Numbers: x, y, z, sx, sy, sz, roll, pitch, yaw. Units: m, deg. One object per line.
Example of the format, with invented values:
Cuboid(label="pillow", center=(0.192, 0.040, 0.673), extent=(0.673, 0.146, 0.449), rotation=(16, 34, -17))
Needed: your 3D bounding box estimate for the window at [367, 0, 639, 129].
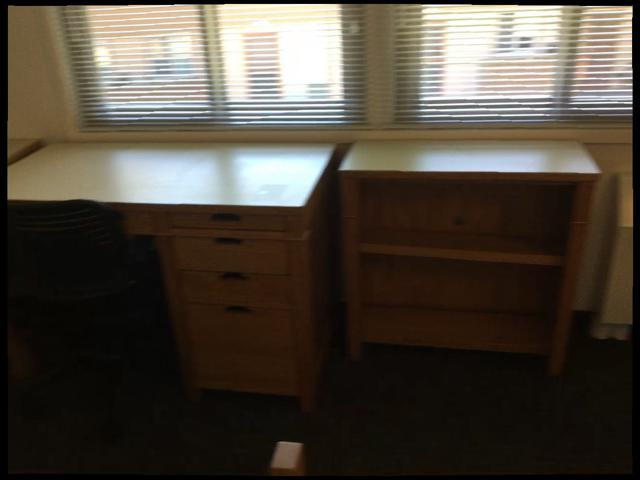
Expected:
Cuboid(label="window", center=(0.798, -0.761, 1.920), extent=(1.258, 0.721, 0.260), rotation=(2, 28, 10))

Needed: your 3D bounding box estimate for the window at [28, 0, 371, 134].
Cuboid(label="window", center=(-0.429, -0.741, 2.140), extent=(1.208, 0.631, 0.230), rotation=(2, 28, 10))
